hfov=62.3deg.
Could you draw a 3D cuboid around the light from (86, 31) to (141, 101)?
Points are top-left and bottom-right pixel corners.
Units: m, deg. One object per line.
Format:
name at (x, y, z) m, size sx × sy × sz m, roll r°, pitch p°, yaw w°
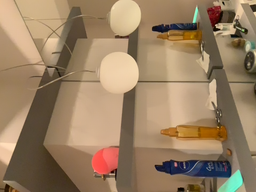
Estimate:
light at (-0.030, -0.080, 0.600) m, size 0.130 × 0.170 × 0.100 m, roll 0°, pitch 50°, yaw 3°
